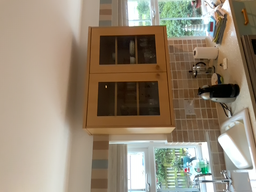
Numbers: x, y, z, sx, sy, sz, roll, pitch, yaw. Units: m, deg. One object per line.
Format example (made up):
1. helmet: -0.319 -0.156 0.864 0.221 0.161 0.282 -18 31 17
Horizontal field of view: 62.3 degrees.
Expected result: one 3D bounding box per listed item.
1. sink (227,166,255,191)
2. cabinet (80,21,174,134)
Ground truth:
1. sink: 0.920 0.640 1.600 0.440 0.120 0.190 88 -178 -69
2. cabinet: -0.010 -0.200 2.110 0.290 0.790 1.090 88 -178 -69
